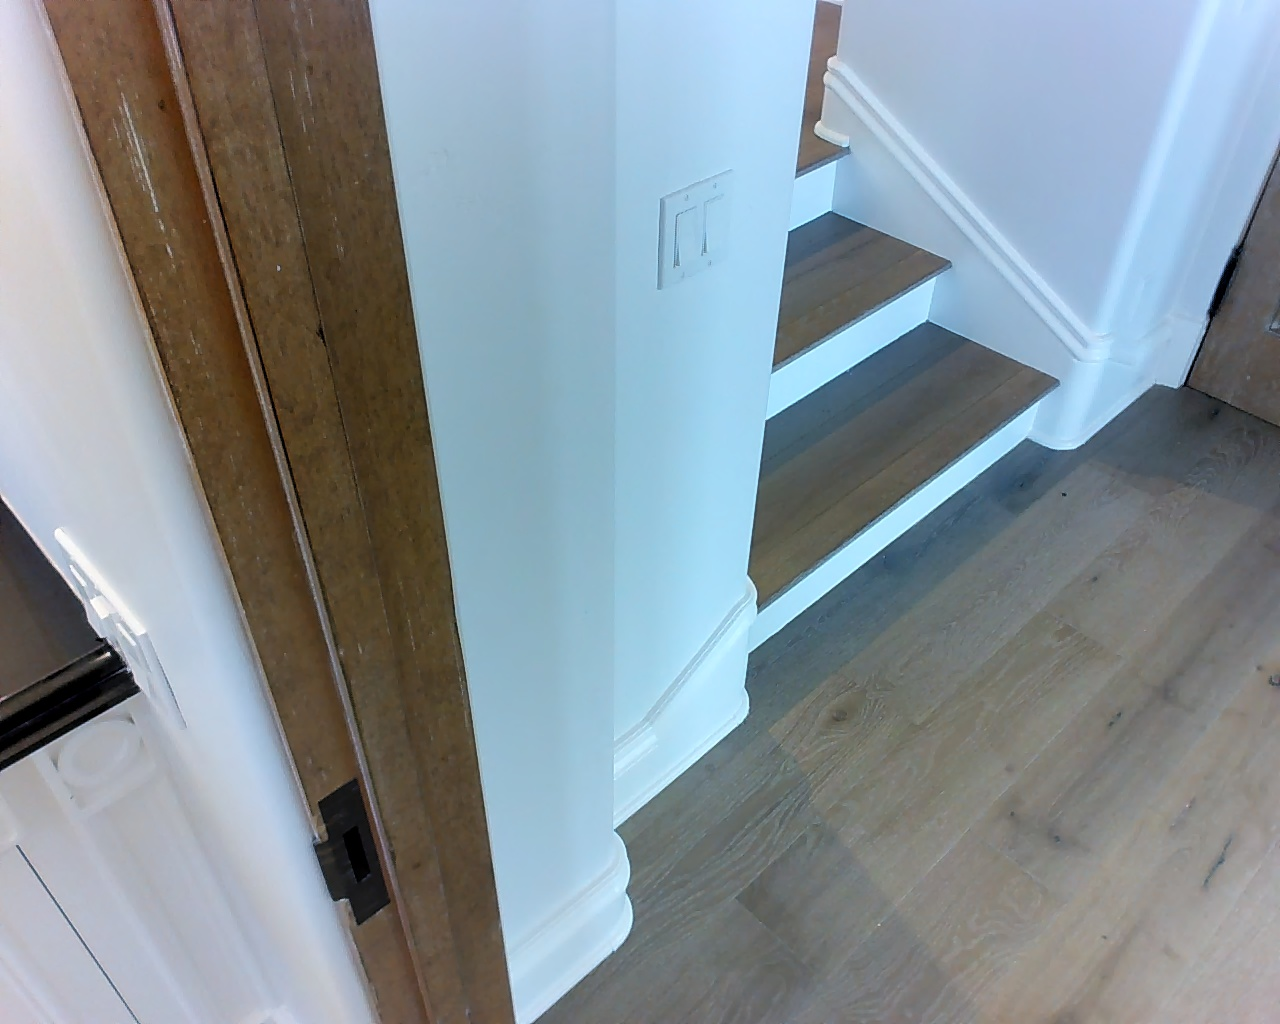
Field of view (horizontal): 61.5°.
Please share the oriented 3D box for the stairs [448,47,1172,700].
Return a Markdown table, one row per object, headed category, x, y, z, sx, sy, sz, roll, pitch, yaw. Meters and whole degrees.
| category | x | y | z | sx | sy | sz | roll | pitch | yaw |
| --- | --- | --- | --- | --- | --- | --- | --- | --- | --- |
| stairs | 0.360 | -0.390 | 2.360 | 1.190 | 0.710 | 0.860 | -34 | 53 | -31 |
